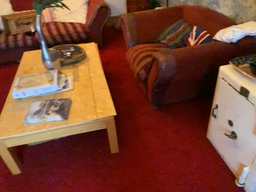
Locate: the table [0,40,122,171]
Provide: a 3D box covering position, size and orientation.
[{"bbox_3d":[-0.670,-0.060,2.270,0.910,0.420,1.500,-10,37,-8],"label":"table"}]
